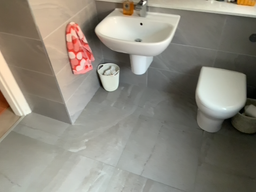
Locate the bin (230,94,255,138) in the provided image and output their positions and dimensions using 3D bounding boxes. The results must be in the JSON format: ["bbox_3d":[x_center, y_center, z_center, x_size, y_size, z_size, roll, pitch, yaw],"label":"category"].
[{"bbox_3d":[1.010,0.170,1.820,0.170,0.240,0.250,15,46,17],"label":"bin"}]

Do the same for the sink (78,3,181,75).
[{"bbox_3d":[0.030,-0.480,1.690,0.640,0.260,0.490,15,46,17],"label":"sink"}]

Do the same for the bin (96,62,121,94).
[{"bbox_3d":[-0.200,-0.190,2.250,0.190,0.260,0.180,13,45,15],"label":"bin"}]

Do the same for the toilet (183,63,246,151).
[{"bbox_3d":[0.730,0.080,1.800,0.350,0.450,0.520,15,46,17],"label":"toilet"}]
